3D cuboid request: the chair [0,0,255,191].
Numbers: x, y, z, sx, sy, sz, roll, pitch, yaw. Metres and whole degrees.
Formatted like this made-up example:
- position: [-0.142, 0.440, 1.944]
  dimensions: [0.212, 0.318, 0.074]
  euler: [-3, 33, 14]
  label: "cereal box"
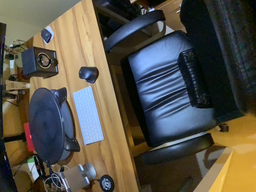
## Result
- position: [0.190, -0.080, 0.940]
  dimensions: [0.670, 1.290, 0.670]
  euler: [-25, 78, 30]
  label: "chair"
